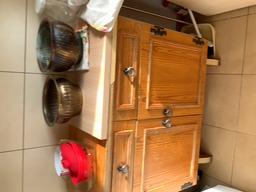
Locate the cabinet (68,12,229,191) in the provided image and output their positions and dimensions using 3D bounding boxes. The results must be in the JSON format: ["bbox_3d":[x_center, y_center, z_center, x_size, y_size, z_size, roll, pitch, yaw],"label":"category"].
[{"bbox_3d":[0.140,0.100,1.180,0.370,0.810,0.840,9,97,52],"label":"cabinet"}]

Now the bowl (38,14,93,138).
[{"bbox_3d":[-0.280,-0.080,0.910,0.250,0.130,0.450,11,98,52],"label":"bowl"}]
